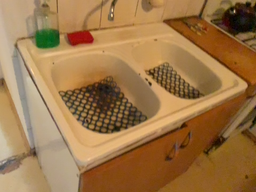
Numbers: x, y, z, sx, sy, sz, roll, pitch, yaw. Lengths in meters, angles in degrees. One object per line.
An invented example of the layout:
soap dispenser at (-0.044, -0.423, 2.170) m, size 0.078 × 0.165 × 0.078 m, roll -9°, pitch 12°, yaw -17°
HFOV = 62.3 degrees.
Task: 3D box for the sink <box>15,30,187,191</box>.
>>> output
sink at (-0.140, -0.020, 0.830) m, size 0.380 × 0.160 × 0.610 m, roll -18°, pitch 52°, yaw -31°

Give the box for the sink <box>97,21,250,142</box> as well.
sink at (0.180, -0.130, 1.030) m, size 0.400 × 0.160 × 0.610 m, roll -18°, pitch 52°, yaw -31°
